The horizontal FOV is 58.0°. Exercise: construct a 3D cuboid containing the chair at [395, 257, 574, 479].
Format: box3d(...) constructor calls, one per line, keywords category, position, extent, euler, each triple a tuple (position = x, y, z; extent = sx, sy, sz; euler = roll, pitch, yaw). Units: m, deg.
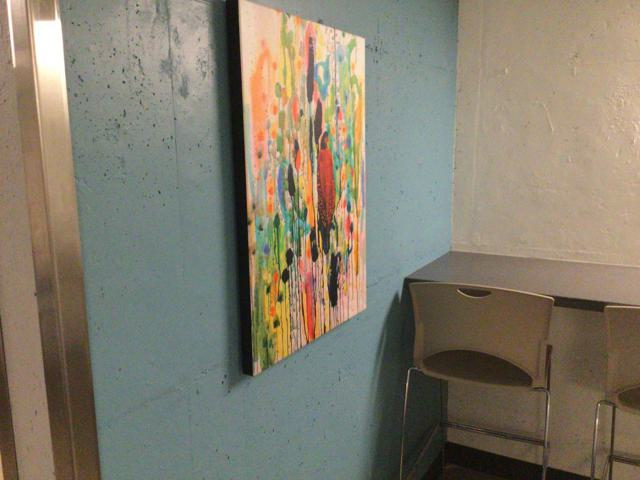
box3d(category="chair", position=(0.620, 0.600, 2.170), extent=(0.520, 0.970, 0.490), euler=(4, 10, 30))
